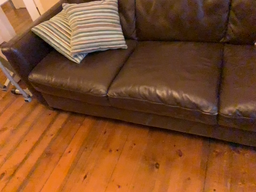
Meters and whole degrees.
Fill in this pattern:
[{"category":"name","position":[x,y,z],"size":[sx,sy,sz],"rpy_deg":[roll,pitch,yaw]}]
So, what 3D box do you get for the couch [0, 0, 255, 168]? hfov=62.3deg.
[{"category":"couch","position":[0.320,-0.340,1.440],"size":[2.110,0.860,1.070],"rpy_deg":[8,48,21]}]
